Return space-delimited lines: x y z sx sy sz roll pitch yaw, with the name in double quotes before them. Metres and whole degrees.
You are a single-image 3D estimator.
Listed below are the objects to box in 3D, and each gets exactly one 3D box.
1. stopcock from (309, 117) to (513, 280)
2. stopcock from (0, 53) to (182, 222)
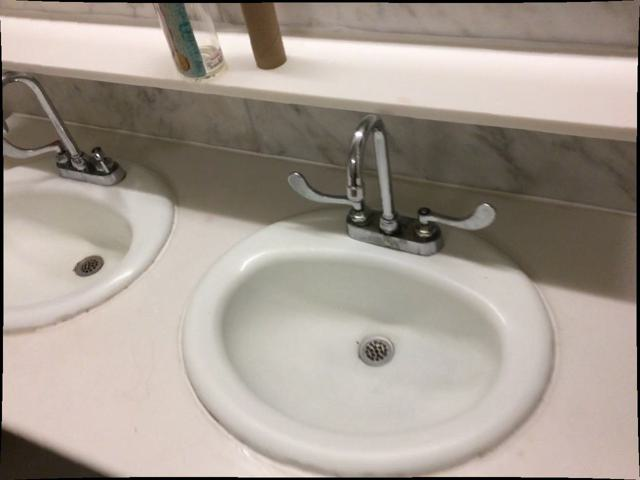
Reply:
"stopcock" 0.140 -0.070 0.870 0.250 0.130 0.160 14 50 24
"stopcock" -0.450 -0.190 1.050 0.310 0.230 0.130 14 50 24
